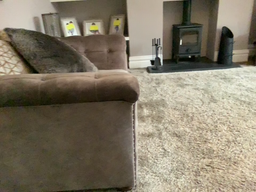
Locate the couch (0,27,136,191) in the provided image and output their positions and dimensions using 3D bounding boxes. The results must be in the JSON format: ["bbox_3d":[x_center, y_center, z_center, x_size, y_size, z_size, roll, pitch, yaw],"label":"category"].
[{"bbox_3d":[-0.520,-0.070,1.700,1.020,0.730,1.560,-4,23,-1],"label":"couch"}]

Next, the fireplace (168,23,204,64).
[{"bbox_3d":[0.960,-0.900,3.600,0.470,0.590,0.400,-4,23,-1],"label":"fireplace"}]
